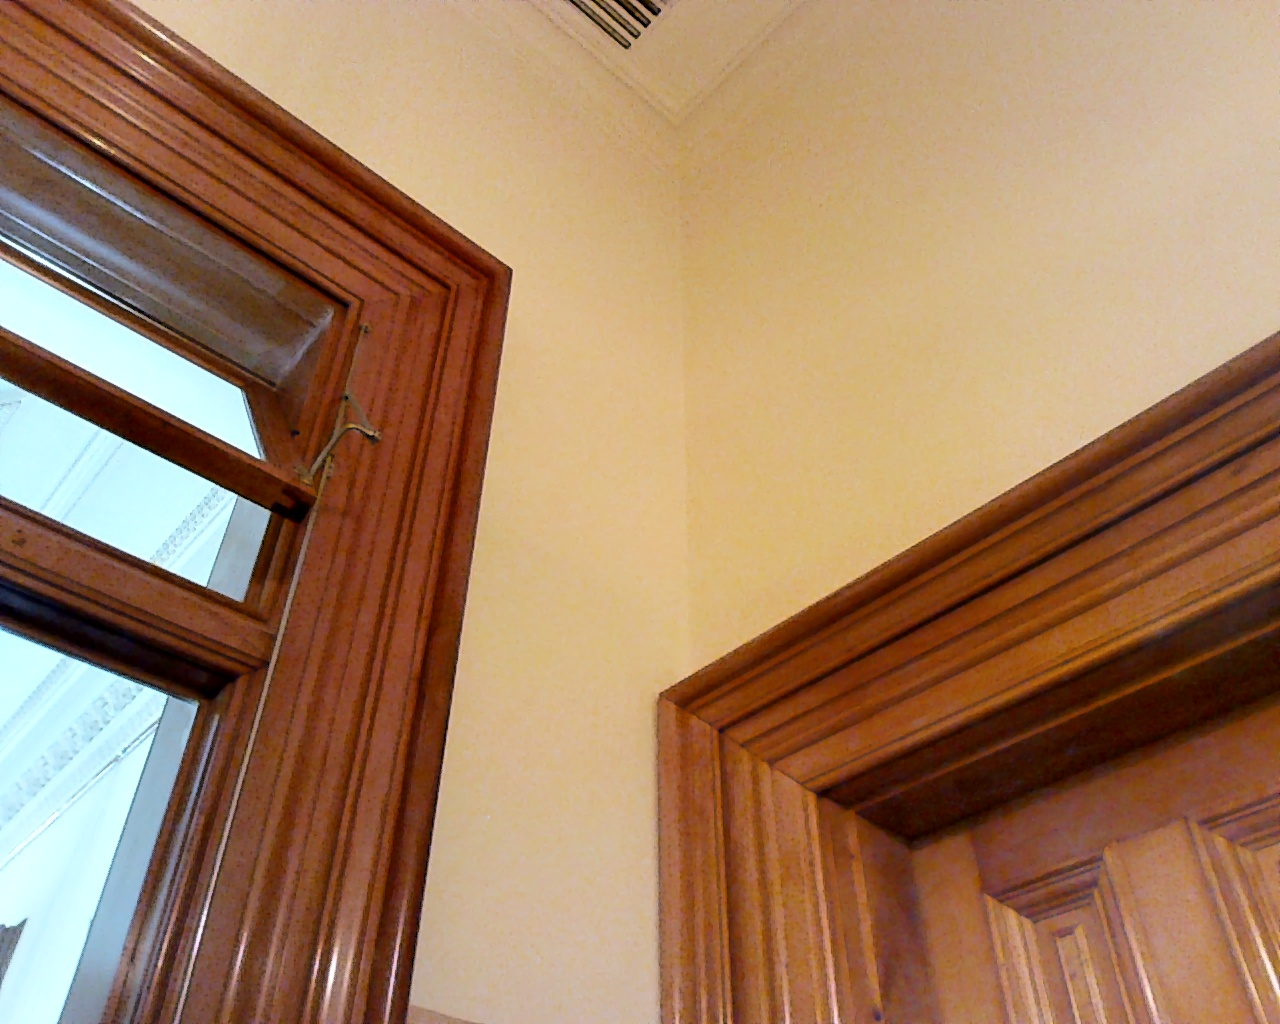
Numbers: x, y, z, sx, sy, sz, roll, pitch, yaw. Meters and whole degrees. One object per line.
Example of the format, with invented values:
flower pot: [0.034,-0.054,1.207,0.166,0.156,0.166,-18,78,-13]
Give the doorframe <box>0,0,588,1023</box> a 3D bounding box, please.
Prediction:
doorframe: [-0.820,0.460,0.700,1.520,3.251,0.470,31,-50,-30]
